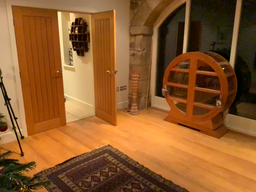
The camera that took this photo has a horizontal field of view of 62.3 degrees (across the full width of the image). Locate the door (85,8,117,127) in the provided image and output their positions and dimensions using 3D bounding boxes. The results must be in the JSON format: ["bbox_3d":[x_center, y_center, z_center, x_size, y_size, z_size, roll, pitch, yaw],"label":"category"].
[{"bbox_3d":[-0.480,-0.480,3.800,0.060,1.980,0.790,-13,21,-41],"label":"door"}]

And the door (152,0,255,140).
[{"bbox_3d":[1.420,-0.630,3.930,2.270,2.390,0.080,15,21,42],"label":"door"}]
